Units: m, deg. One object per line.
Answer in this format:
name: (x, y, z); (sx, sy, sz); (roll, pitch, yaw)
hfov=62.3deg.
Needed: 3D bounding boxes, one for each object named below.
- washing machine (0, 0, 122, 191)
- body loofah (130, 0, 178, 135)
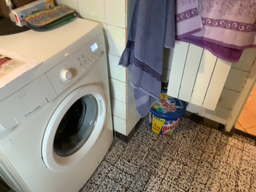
washing machine: (-0.480, 0.060, 1.130); (0.660, 0.850, 0.630); (21, 46, 21)
body loofah: (0.120, -0.290, 0.970); (0.120, 1.210, 0.200); (19, 45, 19)
